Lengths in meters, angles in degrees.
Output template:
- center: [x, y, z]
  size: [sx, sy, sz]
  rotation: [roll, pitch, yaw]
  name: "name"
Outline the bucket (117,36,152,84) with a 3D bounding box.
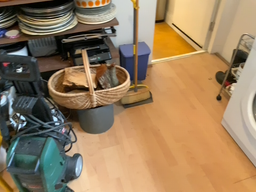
- center: [0.050, -0.340, 1.990]
  size: [0.250, 0.340, 0.220]
  rotation: [-13, 44, -13]
  name: "bucket"
